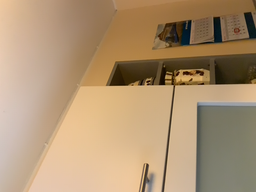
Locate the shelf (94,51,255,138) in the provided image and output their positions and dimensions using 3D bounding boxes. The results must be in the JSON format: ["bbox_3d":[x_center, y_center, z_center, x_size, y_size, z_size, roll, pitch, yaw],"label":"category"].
[{"bbox_3d":[0.250,-0.010,0.960,0.200,0.720,0.300,69,-152,-45],"label":"shelf"}]
